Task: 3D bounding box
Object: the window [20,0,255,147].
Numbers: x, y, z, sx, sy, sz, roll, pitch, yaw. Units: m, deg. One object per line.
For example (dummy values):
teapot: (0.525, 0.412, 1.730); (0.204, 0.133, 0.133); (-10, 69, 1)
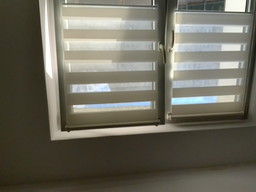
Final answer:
window: (0.260, -0.330, 1.400); (1.720, 1.250, 0.170); (-2, -166, -10)
